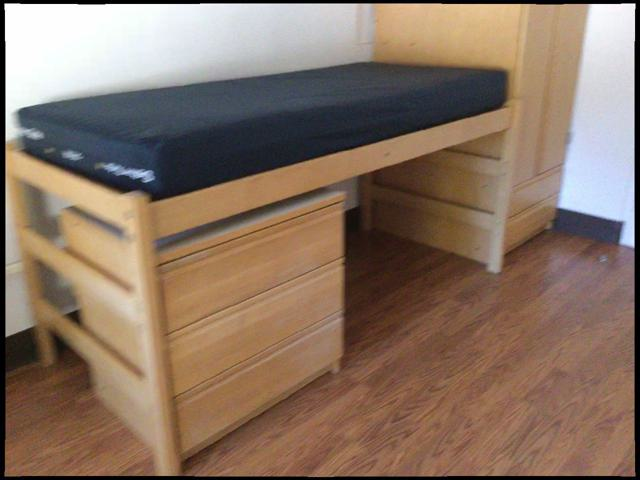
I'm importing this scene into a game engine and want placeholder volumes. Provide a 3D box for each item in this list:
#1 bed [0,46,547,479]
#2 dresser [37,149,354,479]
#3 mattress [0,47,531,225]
[{"bbox_3d":[-0.100,-0.190,2.630,2.198,1.082,1.109,-22,31,-38],"label":"bed"},{"bbox_3d":[-0.429,0.180,2.190,0.829,0.771,0.749,-22,31,-38],"label":"dresser"},{"bbox_3d":[-0.120,-0.591,2.470,2.028,0.220,1.079,-22,31,-38],"label":"mattress"}]
